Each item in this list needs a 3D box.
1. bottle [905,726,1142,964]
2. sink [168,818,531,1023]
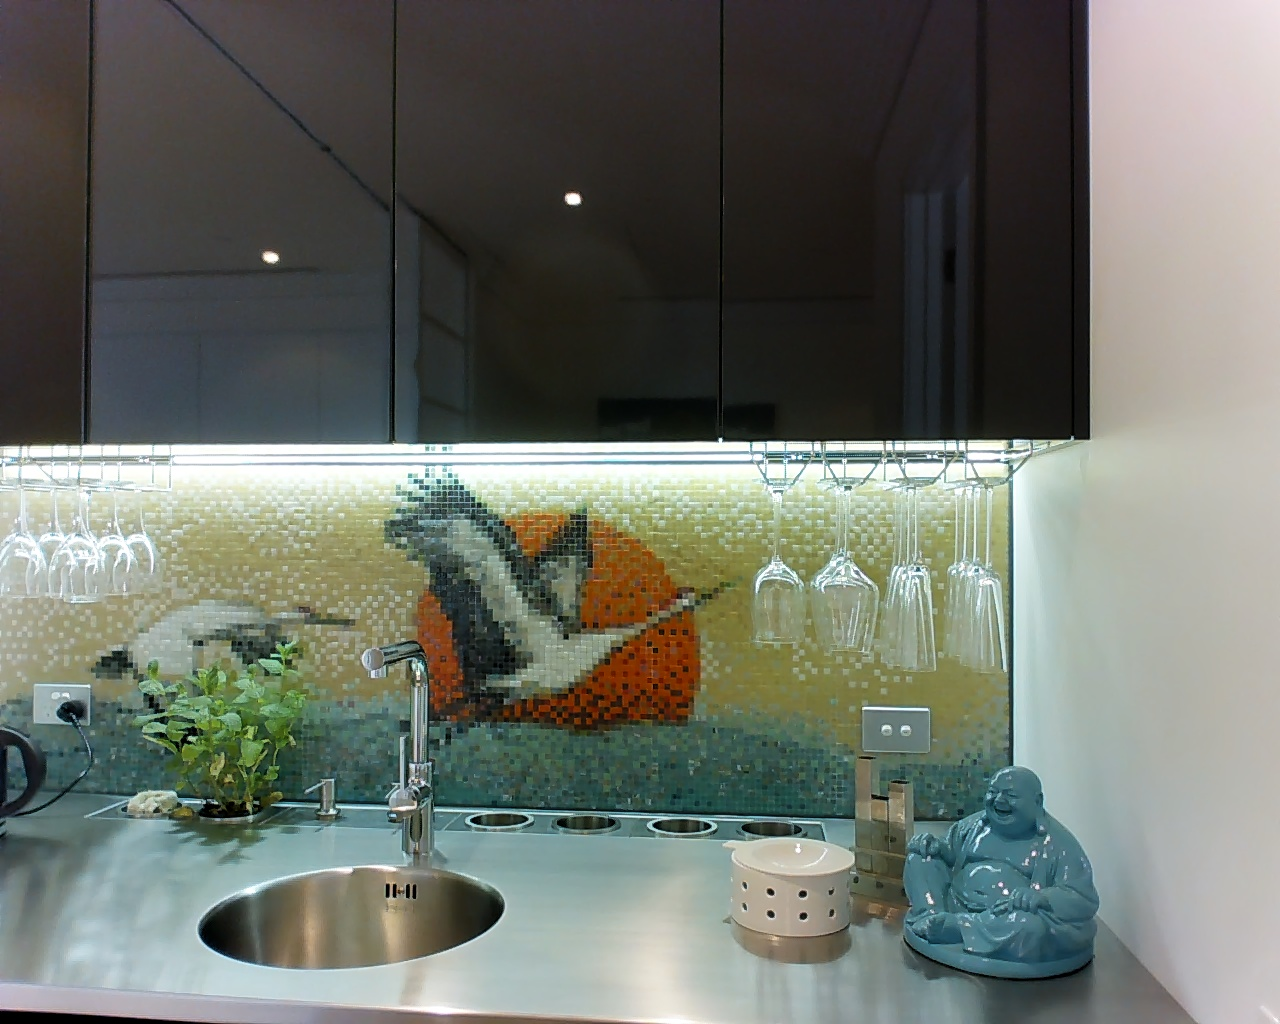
[{"bbox_3d":[0.440,0.380,1.270,0.230,0.210,0.200,0,-1,9],"label":"bottle"},{"bbox_3d":[-0.390,0.600,1.530,0.410,0.230,0.320,0,-1,6],"label":"sink"}]
